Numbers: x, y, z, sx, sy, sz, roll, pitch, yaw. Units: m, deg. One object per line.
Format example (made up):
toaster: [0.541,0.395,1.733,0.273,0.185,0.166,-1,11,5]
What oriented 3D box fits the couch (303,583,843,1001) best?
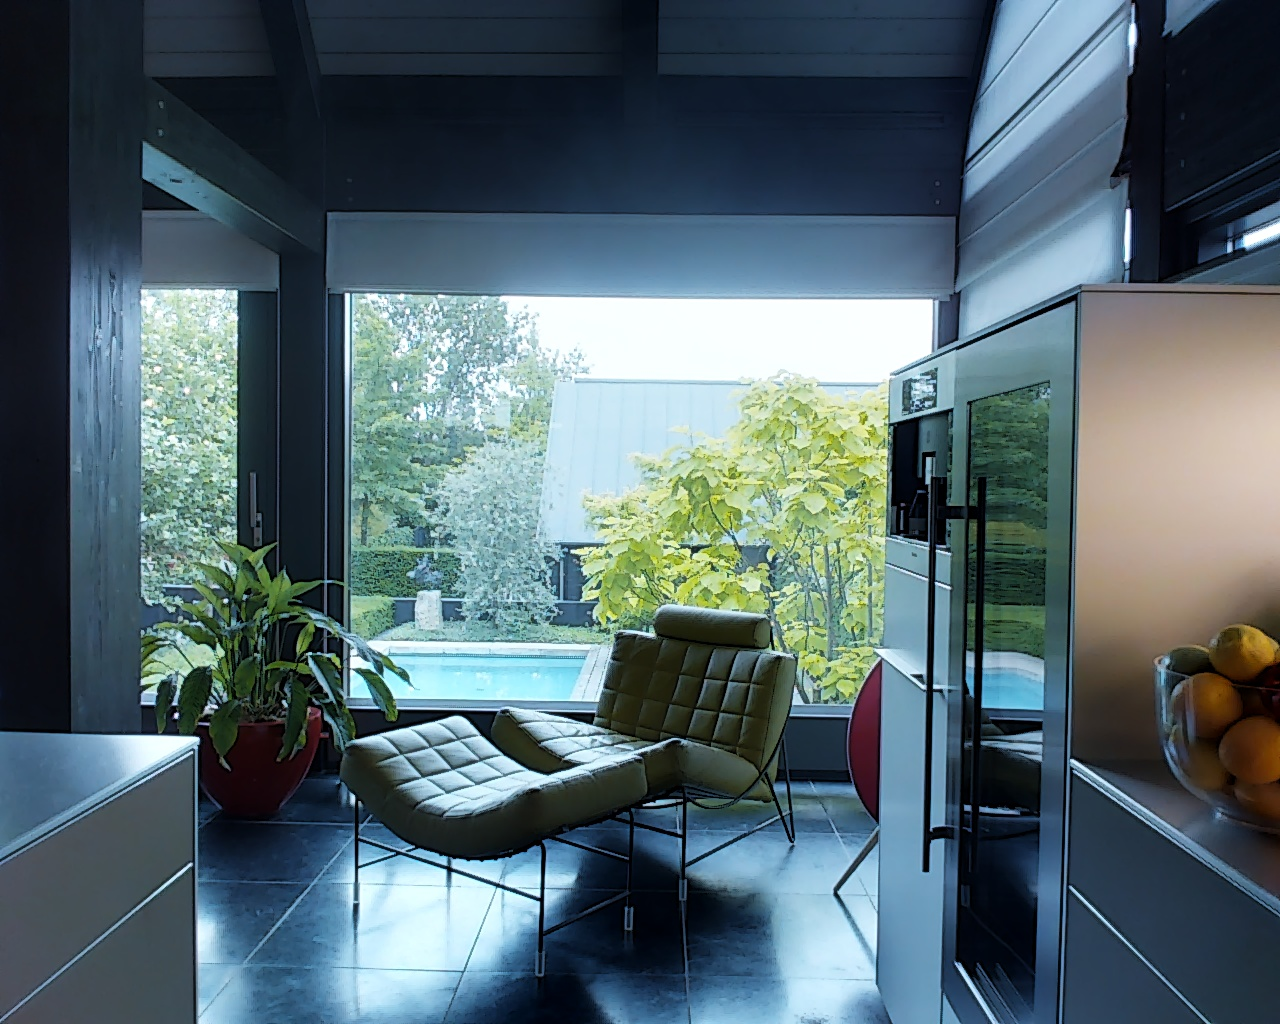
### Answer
couch: [-0.140,0.780,3.710,0.980,0.890,1.680,3,2,37]

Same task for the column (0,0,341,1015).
column: [-1.520,-1.160,3.680,0.310,4.721,2.210,1,2,1]

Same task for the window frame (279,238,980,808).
window frame: [-0.060,0.040,4.700,2.860,2.300,0.470,1,2,1]
